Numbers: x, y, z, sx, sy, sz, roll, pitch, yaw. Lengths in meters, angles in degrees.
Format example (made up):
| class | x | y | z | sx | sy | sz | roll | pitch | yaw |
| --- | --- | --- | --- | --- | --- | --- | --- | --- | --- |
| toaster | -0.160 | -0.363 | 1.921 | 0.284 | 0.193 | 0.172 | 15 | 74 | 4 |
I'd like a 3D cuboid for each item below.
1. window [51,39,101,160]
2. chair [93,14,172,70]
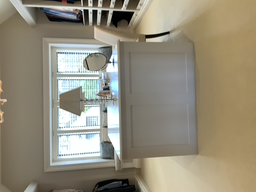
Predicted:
| class | x | y | z | sx | sy | sz | roll | pitch | yaw |
| --- | --- | --- | --- | --- | --- | --- | --- | --- | --- |
| window | -1.250 | 0.050 | 5.100 | 0.070 | 1.150 | 2.840 | 162 | 107 | -79 |
| chair | 0.030 | -0.720 | 2.950 | 0.490 | 0.990 | 0.570 | 137 | 131 | -76 |
